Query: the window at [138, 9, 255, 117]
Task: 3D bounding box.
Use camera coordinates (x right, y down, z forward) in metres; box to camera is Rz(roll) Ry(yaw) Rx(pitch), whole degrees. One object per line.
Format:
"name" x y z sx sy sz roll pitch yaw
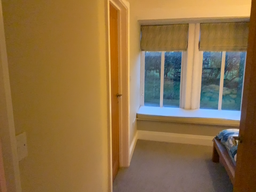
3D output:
"window" 1.230 -0.600 3.980 2.040 1.840 0.260 3 12 12
